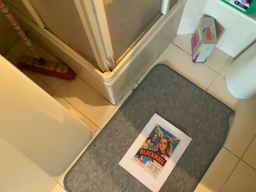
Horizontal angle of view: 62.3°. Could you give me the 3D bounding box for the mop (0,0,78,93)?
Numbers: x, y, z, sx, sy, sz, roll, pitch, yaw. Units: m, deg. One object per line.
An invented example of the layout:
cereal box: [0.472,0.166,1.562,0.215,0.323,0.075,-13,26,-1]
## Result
mop: [-0.460,-0.310,0.740,0.340,0.810,0.180,40,78,13]
